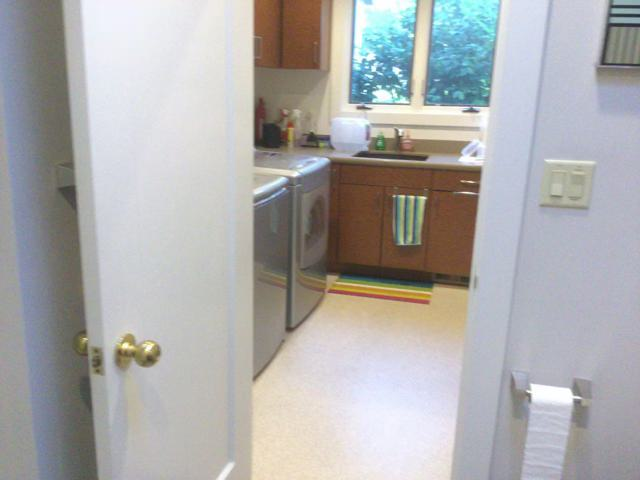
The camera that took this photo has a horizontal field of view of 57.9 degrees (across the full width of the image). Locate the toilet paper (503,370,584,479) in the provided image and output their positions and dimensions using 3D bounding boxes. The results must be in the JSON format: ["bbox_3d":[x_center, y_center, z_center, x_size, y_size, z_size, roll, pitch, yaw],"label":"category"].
[{"bbox_3d":[0.590,0.550,1.550,0.150,0.360,0.120,5,15,14],"label":"toilet paper"}]
